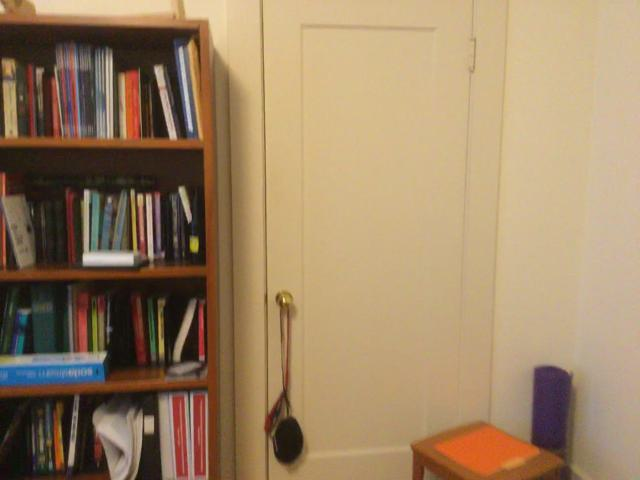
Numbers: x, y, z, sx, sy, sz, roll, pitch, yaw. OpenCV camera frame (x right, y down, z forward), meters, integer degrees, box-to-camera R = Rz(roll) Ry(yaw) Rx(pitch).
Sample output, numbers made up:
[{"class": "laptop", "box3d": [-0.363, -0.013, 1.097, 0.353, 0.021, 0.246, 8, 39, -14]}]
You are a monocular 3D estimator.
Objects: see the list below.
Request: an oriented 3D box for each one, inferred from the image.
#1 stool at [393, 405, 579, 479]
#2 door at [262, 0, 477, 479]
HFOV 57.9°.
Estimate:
[{"class": "stool", "box3d": [0.560, 0.900, 2.000, 0.450, 0.430, 0.410, -5, 9, -31]}, {"class": "door", "box3d": [0.180, 0.100, 2.080, 0.730, 1.970, 0.070, -2, 8, -11]}]
